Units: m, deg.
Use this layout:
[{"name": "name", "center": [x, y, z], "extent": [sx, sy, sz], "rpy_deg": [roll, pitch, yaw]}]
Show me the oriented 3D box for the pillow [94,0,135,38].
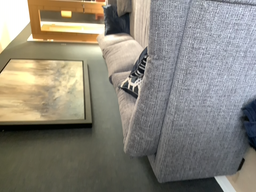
[{"name": "pillow", "center": [-0.230, -1.260, 3.340], "extent": [0.160, 0.590, 0.530], "rpy_deg": [6, -71, -46]}]
